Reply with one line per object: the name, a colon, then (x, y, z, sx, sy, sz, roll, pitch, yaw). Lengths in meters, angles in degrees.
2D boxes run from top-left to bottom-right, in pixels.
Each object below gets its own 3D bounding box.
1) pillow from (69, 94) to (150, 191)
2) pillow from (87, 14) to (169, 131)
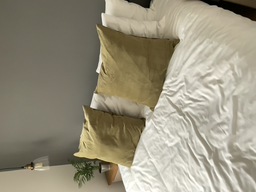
pillow: (-0.140, 0.330, 1.530, 0.230, 0.500, 0.540, 33, 127, 37)
pillow: (0.000, -0.160, 1.290, 0.200, 0.500, 0.520, 26, 129, 17)
